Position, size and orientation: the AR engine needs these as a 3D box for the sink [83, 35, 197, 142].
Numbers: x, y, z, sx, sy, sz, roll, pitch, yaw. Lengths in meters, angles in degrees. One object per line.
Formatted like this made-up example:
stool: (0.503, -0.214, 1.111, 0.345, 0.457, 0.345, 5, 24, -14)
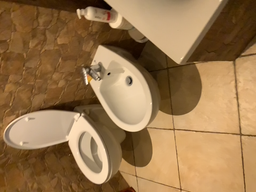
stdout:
sink: (0.050, -0.070, 1.270, 0.510, 0.340, 0.330, 48, 126, 27)
